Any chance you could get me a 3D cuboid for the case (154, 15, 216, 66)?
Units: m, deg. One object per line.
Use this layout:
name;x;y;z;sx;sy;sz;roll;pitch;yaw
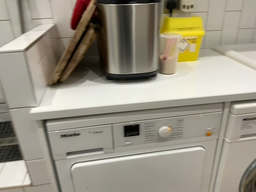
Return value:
case;0.270;-0.290;1.080;0.230;0.210;0.210;-3;26;-5
